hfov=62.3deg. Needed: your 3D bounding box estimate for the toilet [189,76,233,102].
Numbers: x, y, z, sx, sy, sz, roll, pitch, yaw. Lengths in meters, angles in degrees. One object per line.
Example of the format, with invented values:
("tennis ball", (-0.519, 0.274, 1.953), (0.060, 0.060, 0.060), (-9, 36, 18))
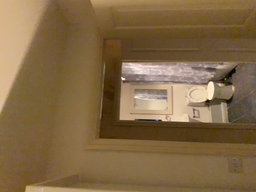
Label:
("toilet", (1.670, -0.140, 4.360), (0.590, 0.700, 0.370), (72, -161, -74))
